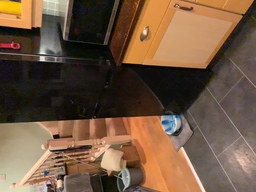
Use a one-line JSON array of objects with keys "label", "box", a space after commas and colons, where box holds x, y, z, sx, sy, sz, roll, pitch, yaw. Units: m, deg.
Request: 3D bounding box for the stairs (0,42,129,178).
[{"label": "stairs", "box": [-1.560, 0.170, 3.670, 1.190, 2.470, 1.870, -65, 36, 41]}]

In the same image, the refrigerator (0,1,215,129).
[{"label": "refrigerator", "box": [-0.270, -0.210, 1.700, 0.590, 1.750, 0.610, -65, 36, 41]}]
